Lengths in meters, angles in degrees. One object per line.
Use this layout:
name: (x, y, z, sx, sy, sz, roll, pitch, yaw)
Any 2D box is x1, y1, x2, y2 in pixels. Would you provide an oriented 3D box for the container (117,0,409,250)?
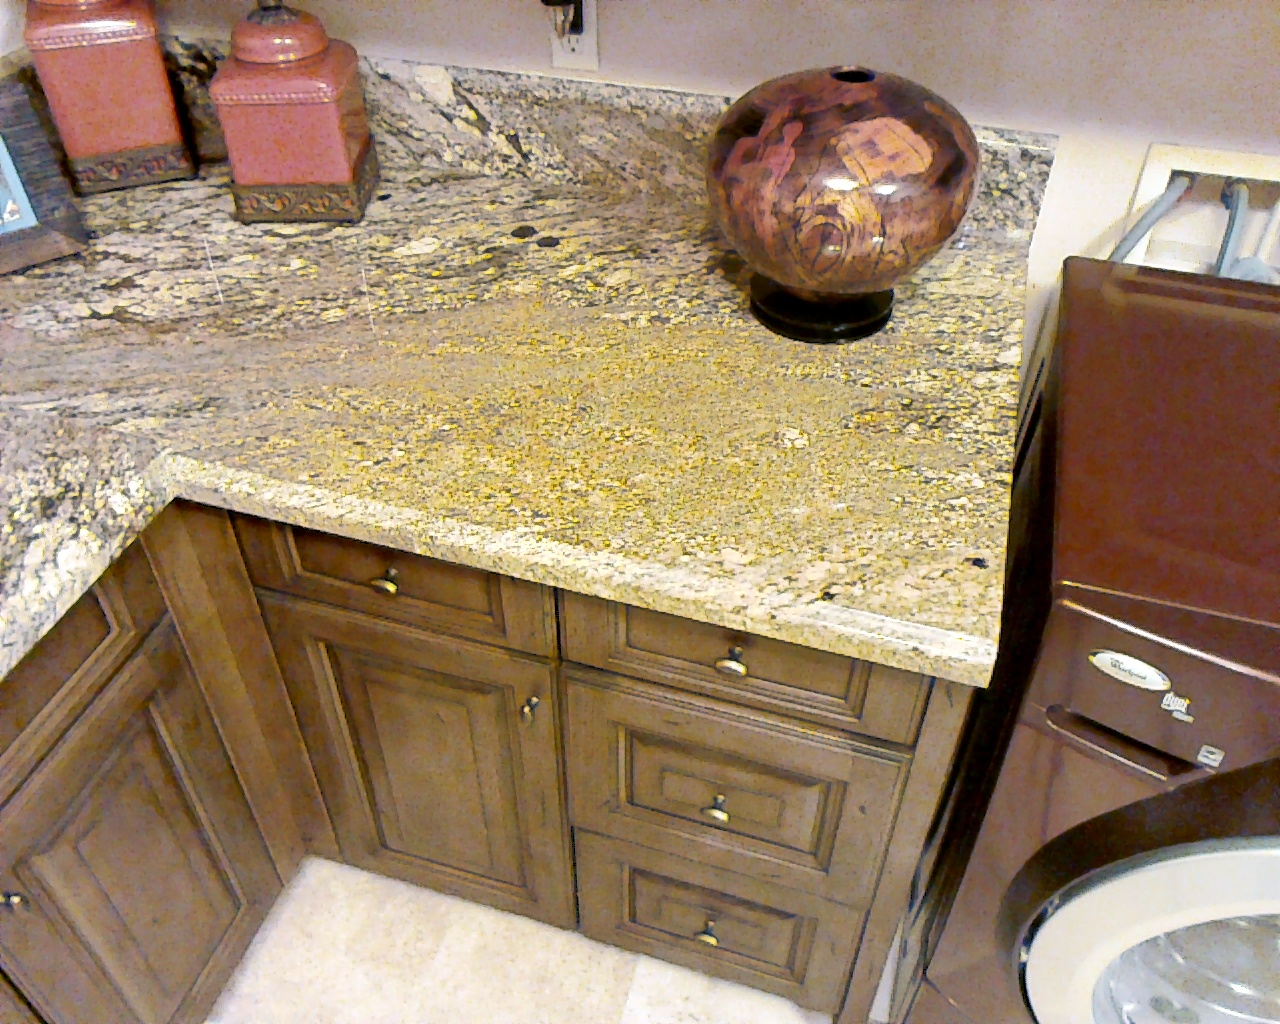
container: (-0.490, -0.580, 1.480, 0.280, 0.310, 0.290, -4, 41, -5)

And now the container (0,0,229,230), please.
container: (-0.750, -0.610, 1.490, 0.230, 0.350, 0.150, -20, 45, -21)

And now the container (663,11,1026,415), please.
container: (0.230, -0.350, 1.220, 0.330, 0.300, 0.320, 11, 42, 12)
